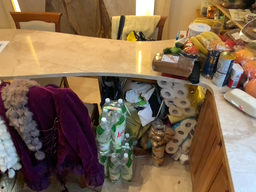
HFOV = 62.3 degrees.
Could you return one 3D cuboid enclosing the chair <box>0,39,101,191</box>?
[{"bbox_3d":[-0.500,0.180,1.500,0.410,0.970,0.520,5,42,6],"label":"chair"}]
